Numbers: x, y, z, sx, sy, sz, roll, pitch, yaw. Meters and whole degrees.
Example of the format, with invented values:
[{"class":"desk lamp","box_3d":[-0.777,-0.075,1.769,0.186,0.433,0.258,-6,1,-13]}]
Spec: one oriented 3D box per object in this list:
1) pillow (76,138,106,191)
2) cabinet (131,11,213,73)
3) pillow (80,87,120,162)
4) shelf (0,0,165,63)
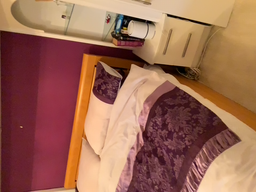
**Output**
[{"class":"pillow","box_3d":[-0.370,0.720,2.020,0.370,0.130,0.510,-131,50,-55]},{"class":"cabinet","box_3d":[0.370,-0.480,1.900,0.400,0.500,0.400,-131,50,-55]},{"class":"pillow","box_3d":[-0.260,0.230,1.820,0.380,0.160,0.500,-132,50,-56]},{"class":"shelf","box_3d":[-0.330,-0.530,1.550,0.390,1.080,0.360,-131,50,-55]}]
